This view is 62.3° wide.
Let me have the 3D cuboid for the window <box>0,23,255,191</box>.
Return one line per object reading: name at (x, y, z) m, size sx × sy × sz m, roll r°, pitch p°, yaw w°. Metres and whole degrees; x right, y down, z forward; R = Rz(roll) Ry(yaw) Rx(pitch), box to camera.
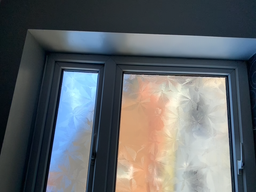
window at (0.010, 0.310, 1.010) m, size 0.310 × 1.310 × 1.210 m, roll 84°, pitch -170°, yaw -76°
